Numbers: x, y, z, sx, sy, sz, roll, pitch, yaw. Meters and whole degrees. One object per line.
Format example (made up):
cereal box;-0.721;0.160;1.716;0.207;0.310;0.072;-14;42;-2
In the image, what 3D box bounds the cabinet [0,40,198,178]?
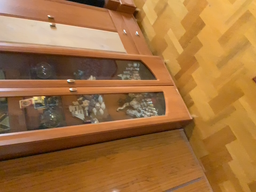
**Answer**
cabinet;-0.470;0.090;1.710;0.640;2.000;0.720;-50;52;45
